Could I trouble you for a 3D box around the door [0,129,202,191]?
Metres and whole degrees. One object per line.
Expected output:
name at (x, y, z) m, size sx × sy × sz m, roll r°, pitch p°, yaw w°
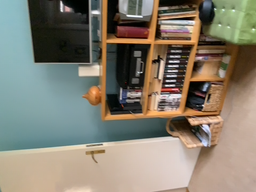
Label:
door at (-0.260, 0.810, 2.210) m, size 0.140 × 2.020 × 0.850 m, roll -116°, pitch 27°, yaw -60°
